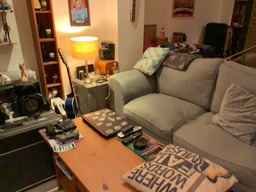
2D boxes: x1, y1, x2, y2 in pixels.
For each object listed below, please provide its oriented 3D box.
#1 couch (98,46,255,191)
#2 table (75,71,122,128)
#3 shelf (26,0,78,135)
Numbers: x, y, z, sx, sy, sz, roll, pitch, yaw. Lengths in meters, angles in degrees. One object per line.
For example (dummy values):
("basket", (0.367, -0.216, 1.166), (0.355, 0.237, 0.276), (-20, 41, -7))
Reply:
("couch", (0.720, 0.130, 2.120), (1.040, 0.900, 2.050), (-17, 27, -36))
("table", (-0.380, 0.020, 2.810), (0.460, 0.580, 0.360), (-17, 27, -36))
("shelf", (-0.830, -0.560, 2.290), (0.310, 2.030, 0.260), (-17, 27, -36))
